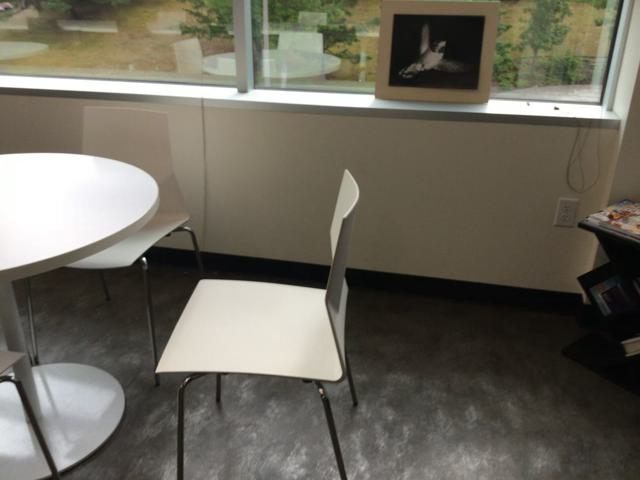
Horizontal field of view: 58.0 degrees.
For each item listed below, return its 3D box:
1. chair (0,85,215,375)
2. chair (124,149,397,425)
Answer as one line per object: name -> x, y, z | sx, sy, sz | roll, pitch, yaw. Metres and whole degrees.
chair -> -0.720, -0.070, 2.110 | 0.470, 0.840, 0.590 | 9, 25, 11
chair -> -0.120, 0.080, 1.500 | 0.530, 0.450, 0.500 | 9, 25, 11
